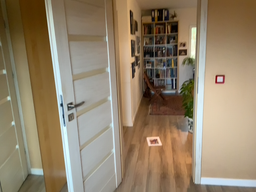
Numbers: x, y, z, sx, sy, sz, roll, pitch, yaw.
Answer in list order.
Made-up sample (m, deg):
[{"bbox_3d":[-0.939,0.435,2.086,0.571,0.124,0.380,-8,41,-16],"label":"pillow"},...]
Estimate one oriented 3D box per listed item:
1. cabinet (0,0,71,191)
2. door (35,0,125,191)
[{"bbox_3d":[-1.130,0.180,1.670,0.570,2.030,1.500,0,14,9],"label":"cabinet"},{"bbox_3d":[-0.310,0.120,1.910,0.120,2.150,0.930,4,15,23],"label":"door"}]
